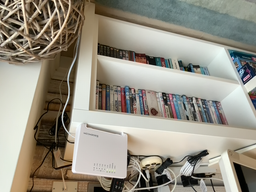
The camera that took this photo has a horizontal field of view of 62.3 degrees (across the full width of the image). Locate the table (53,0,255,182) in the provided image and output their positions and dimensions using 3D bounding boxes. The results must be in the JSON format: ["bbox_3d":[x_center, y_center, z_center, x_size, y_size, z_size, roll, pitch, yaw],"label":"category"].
[{"bbox_3d":[0.400,0.060,1.000,1.350,0.550,0.420,8,144,-16],"label":"table"}]
